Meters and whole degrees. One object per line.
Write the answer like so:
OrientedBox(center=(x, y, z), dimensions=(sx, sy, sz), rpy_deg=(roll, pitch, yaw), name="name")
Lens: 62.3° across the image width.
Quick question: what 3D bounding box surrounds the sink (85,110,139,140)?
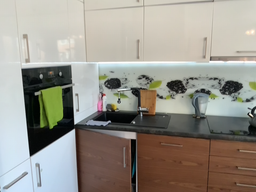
OrientedBox(center=(-0.150, 0.290, 2.260), dimensions=(0.440, 0.160, 0.470), rpy_deg=(2, 10, 16), name="sink")
